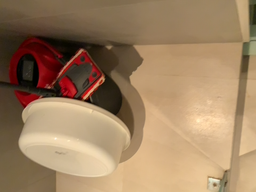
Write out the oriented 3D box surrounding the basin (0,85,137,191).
[{"bbox_3d":[-0.250,0.150,0.880,0.420,0.380,0.350,7,97,29],"label":"basin"}]
